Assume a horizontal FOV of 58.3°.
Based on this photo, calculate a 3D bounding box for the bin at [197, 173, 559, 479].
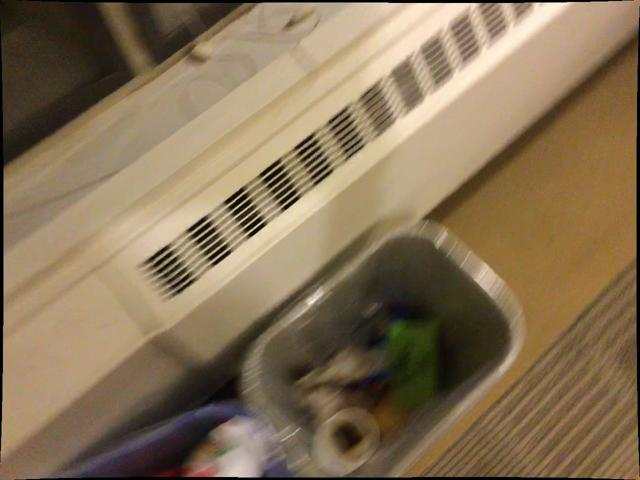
[{"bbox_3d":[0.090,0.200,0.970,0.420,0.360,0.300,-42,71,-15],"label":"bin"}]
